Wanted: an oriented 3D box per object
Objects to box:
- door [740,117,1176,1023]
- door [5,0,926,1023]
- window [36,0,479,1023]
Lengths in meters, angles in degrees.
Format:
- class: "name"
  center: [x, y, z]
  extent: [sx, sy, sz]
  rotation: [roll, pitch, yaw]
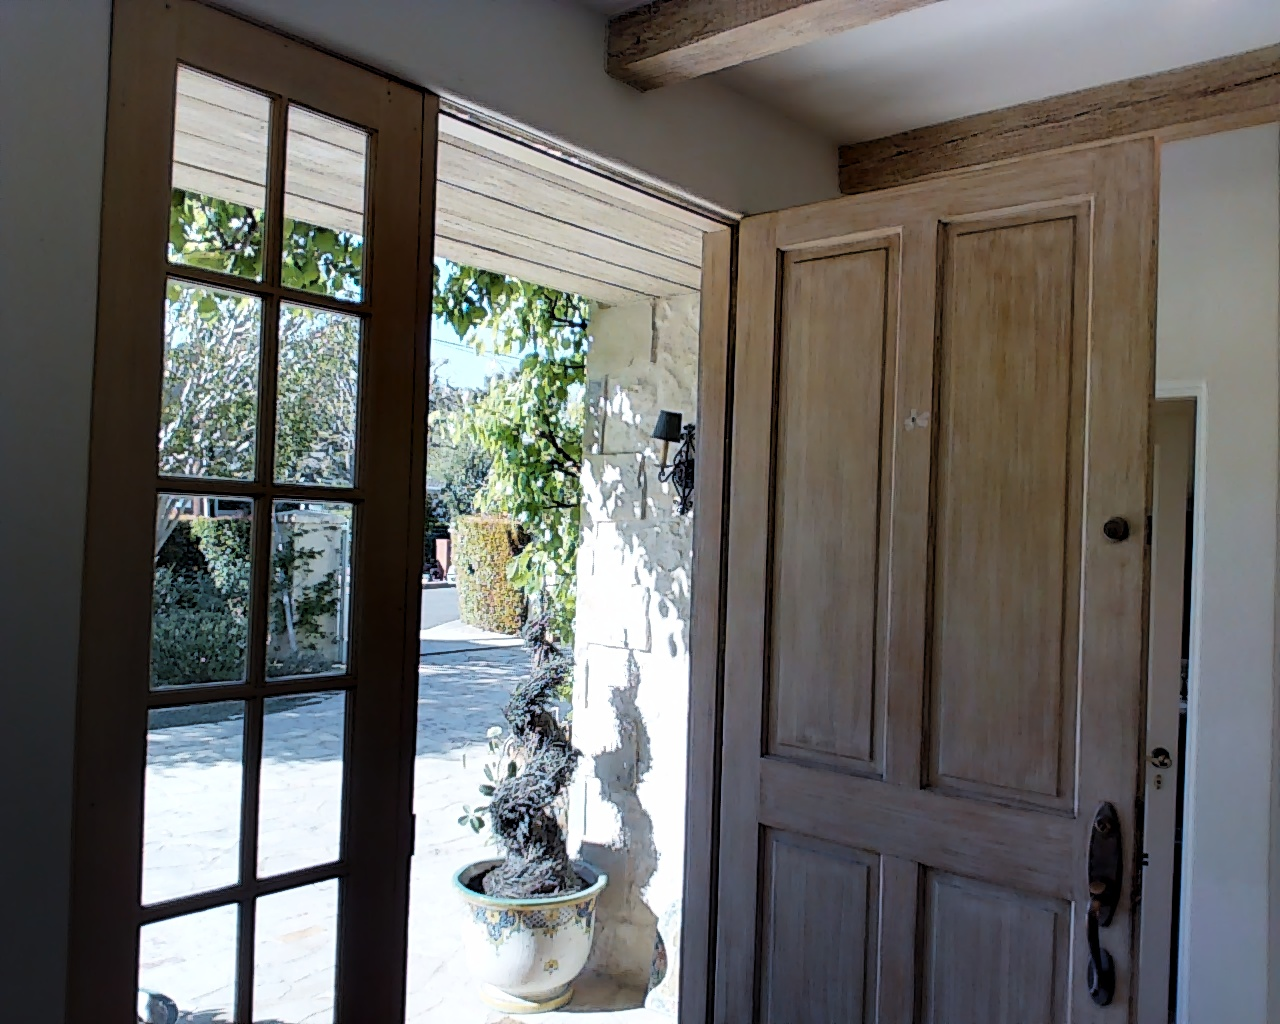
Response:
- class: "door"
  center: [0.700, 0.410, 2.570]
  extent: [1.010, 2.471, 0.080]
  rotation: [1, -1, 41]
- class: "door"
  center: [-0.020, 0.330, 2.560]
  extent: [0.170, 2.591, 2.630]
  rotation: [1, -1, 41]
- class: "window"
  center: [-0.640, 0.360, 1.920]
  extent: [0.060, 2.501, 0.770]
  rotation: [1, -1, 41]
